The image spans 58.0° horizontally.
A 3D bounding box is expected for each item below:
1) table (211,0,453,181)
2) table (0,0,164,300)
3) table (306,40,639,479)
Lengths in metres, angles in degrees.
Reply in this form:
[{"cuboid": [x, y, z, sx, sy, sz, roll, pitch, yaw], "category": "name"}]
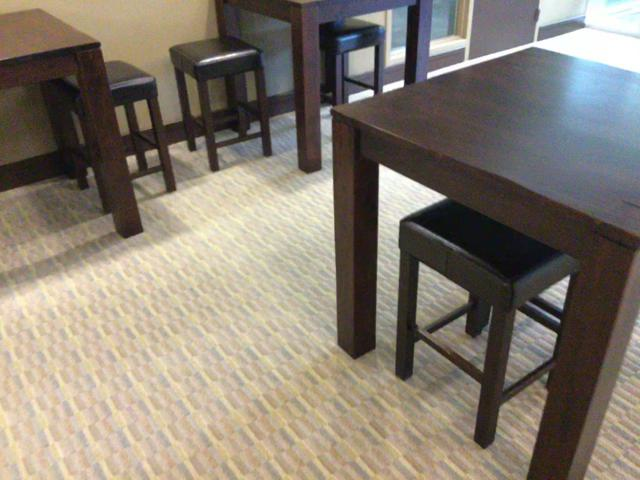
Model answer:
[{"cuboid": [0.070, -1.100, 3.500, 1.000, 0.950, 0.980, -24, 38, -28], "category": "table"}, {"cuboid": [-1.430, -0.460, 2.590, 0.930, 1.000, 0.960, -24, 38, -28], "category": "table"}, {"cuboid": [0.670, 0.030, 1.780, 0.980, 0.920, 0.970, -24, 38, -28], "category": "table"}]
